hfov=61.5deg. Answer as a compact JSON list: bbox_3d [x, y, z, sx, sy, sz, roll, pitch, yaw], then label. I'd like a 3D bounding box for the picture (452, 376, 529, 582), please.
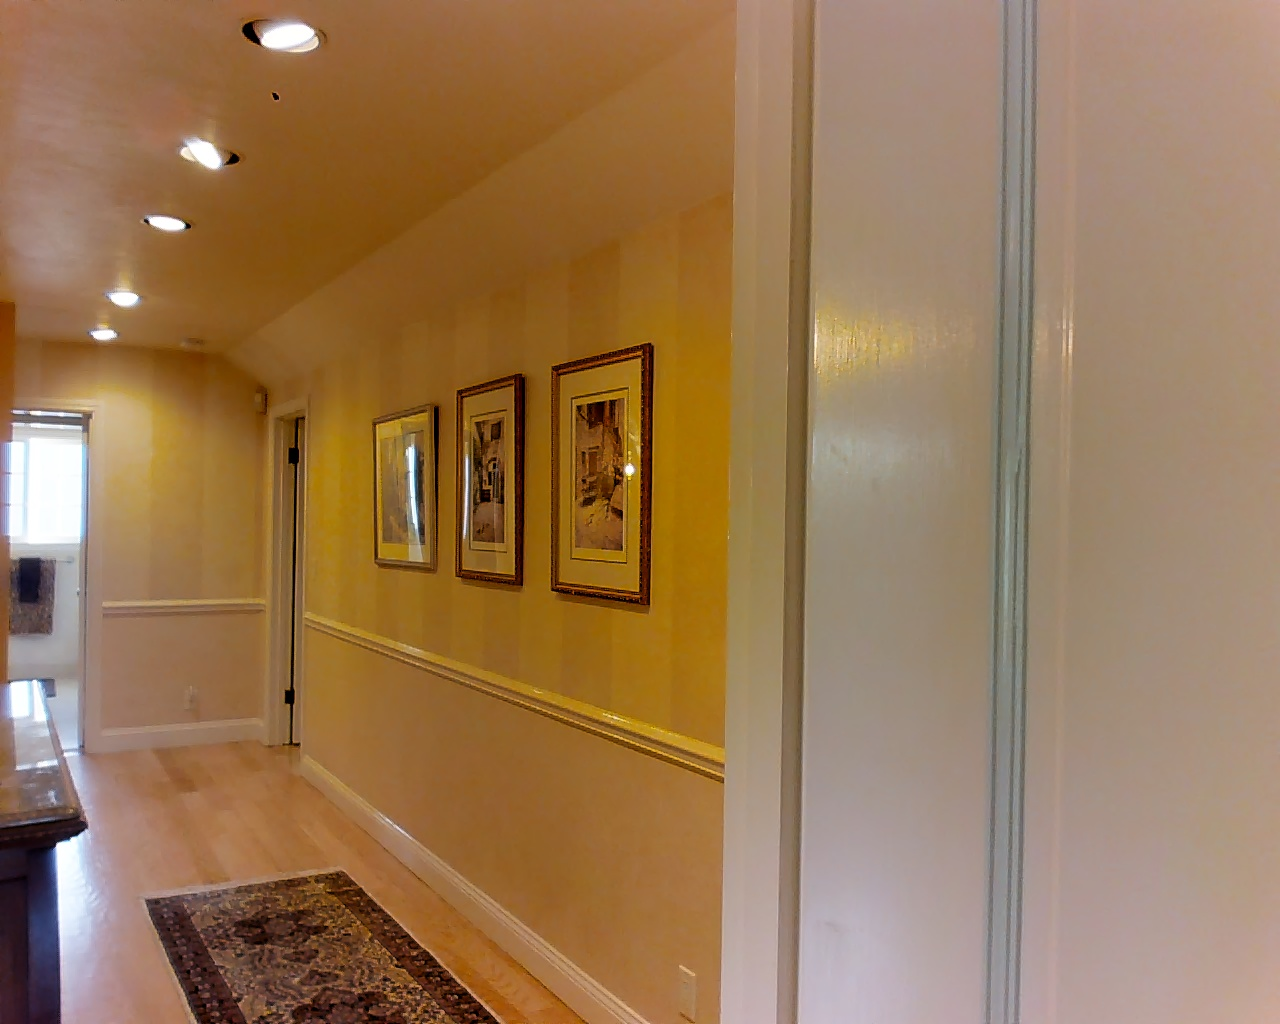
[{"bbox_3d":[-0.530,-0.110,3.750,0.040,0.670,0.550,1,0,-31],"label":"picture"}]

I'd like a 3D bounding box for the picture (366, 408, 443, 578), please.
[{"bbox_3d":[-1.000,-0.090,4.520,0.060,0.660,0.740,1,2,-31],"label":"picture"}]

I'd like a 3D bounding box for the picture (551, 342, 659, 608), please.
[{"bbox_3d":[-0.110,-0.100,3.070,0.040,0.700,0.530,1,0,-31],"label":"picture"}]
